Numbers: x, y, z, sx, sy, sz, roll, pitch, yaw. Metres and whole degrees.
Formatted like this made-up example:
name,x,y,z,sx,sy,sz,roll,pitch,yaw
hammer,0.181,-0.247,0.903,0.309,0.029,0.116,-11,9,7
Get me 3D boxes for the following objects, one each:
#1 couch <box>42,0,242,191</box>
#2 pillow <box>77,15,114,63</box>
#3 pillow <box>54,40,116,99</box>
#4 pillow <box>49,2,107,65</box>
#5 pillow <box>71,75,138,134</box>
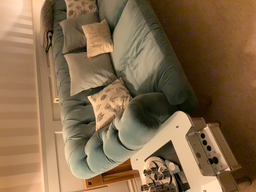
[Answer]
name,x,y,z,sx,sy,sz,roll,pitch,yaw
couch,-0.240,-0.490,2.210,1.310,0.890,2.350,-53,46,45
pillow,-0.300,-0.550,2.030,0.150,0.250,0.420,108,174,-58
pillow,-0.390,-0.260,2.020,0.220,0.470,0.460,108,173,-48
pillow,-0.500,-0.660,2.230,0.210,0.460,0.550,109,171,-64
pillow,-0.180,0.050,1.760,0.450,0.390,0.130,-60,-16,-48
